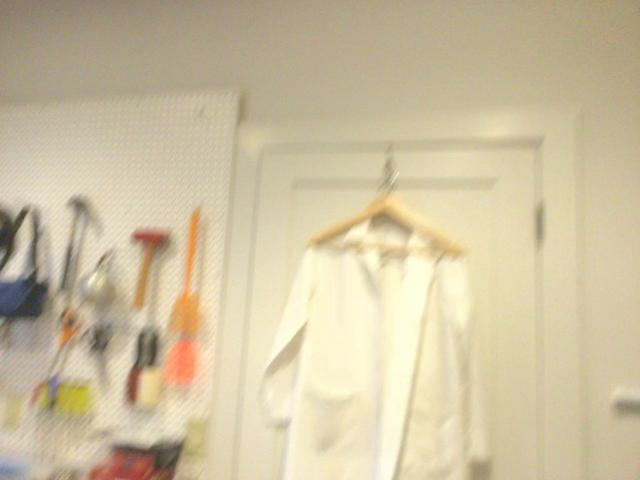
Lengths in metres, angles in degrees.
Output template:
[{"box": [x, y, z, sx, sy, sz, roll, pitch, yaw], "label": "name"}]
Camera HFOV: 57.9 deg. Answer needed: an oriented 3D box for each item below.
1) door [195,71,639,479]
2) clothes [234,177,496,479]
[{"box": [0.240, 0.630, 1.440, 1.140, 2.110, 0.130, 1, -9, 15], "label": "door"}, {"box": [0.120, 0.340, 1.510, 0.630, 1.000, 0.140, 1, -9, 15], "label": "clothes"}]
